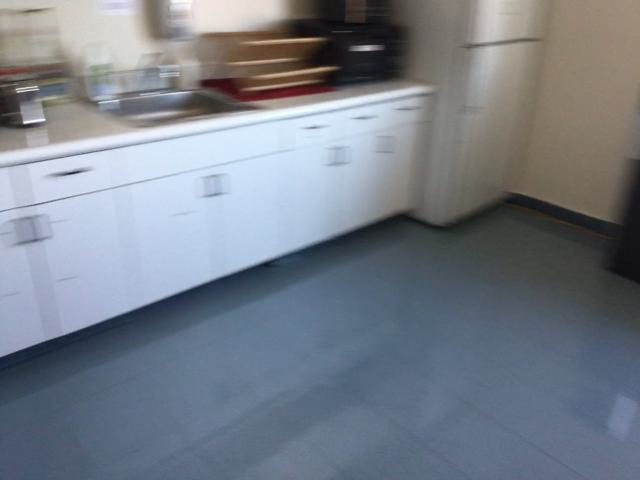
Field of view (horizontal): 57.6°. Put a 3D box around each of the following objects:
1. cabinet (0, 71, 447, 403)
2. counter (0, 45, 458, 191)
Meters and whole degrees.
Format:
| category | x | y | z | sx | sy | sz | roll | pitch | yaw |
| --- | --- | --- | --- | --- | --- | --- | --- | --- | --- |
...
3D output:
| category | x | y | z | sx | sy | sz | roll | pitch | yaw |
| --- | --- | --- | --- | --- | --- | --- | --- | --- | --- |
| cabinet | -0.620 | -0.180 | 2.710 | 2.970 | 0.850 | 0.660 | -20 | 35 | -39 |
| counter | -0.570 | -0.600 | 2.500 | 2.970 | 0.220 | 0.690 | -20 | 35 | -39 |
